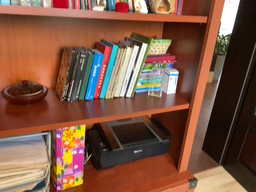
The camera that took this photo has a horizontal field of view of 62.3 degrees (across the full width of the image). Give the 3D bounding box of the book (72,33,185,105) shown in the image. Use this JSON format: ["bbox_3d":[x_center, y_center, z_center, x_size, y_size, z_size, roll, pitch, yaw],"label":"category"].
[{"bbox_3d":[-0.010,-0.150,1.080,0.500,0.280,0.220,-4,25,-22],"label":"book"}]

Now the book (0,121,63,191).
[{"bbox_3d":[-0.450,0.290,0.910,0.290,0.230,0.260,-5,25,-23],"label":"book"}]
